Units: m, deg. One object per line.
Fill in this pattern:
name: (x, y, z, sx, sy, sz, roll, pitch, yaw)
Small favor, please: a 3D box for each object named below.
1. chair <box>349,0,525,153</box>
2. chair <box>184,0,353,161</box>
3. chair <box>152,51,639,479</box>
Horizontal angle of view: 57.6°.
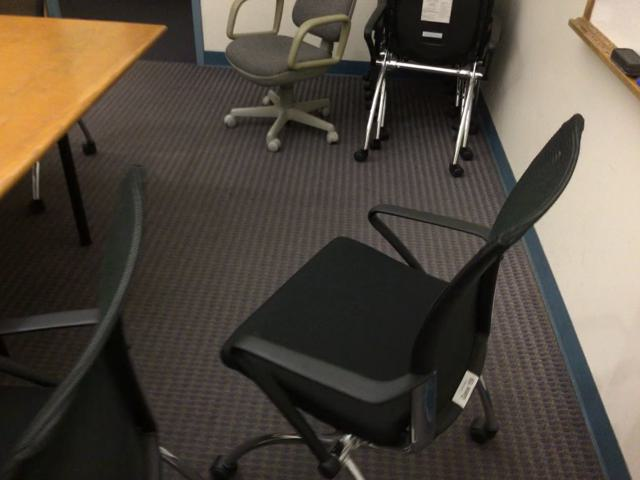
chair: (0.510, -1.090, 2.820, 0.630, 0.910, 1.070, 5, 34, 2)
chair: (-0.210, -0.890, 2.810, 0.690, 0.760, 0.620, 5, 34, 2)
chair: (0.120, 0.060, 1.120, 0.630, 0.620, 0.630, 5, 34, 2)
